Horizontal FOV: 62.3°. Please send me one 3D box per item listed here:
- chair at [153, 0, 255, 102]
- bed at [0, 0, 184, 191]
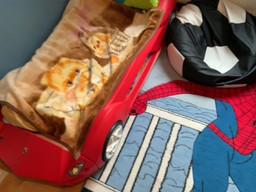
[{"bbox_3d":[0.770,-0.470,1.810,0.890,0.330,0.760,19,61,16],"label":"chair"},{"bbox_3d":[-0.270,-0.350,1.830,0.940,0.290,2.090,19,61,16],"label":"bed"}]
